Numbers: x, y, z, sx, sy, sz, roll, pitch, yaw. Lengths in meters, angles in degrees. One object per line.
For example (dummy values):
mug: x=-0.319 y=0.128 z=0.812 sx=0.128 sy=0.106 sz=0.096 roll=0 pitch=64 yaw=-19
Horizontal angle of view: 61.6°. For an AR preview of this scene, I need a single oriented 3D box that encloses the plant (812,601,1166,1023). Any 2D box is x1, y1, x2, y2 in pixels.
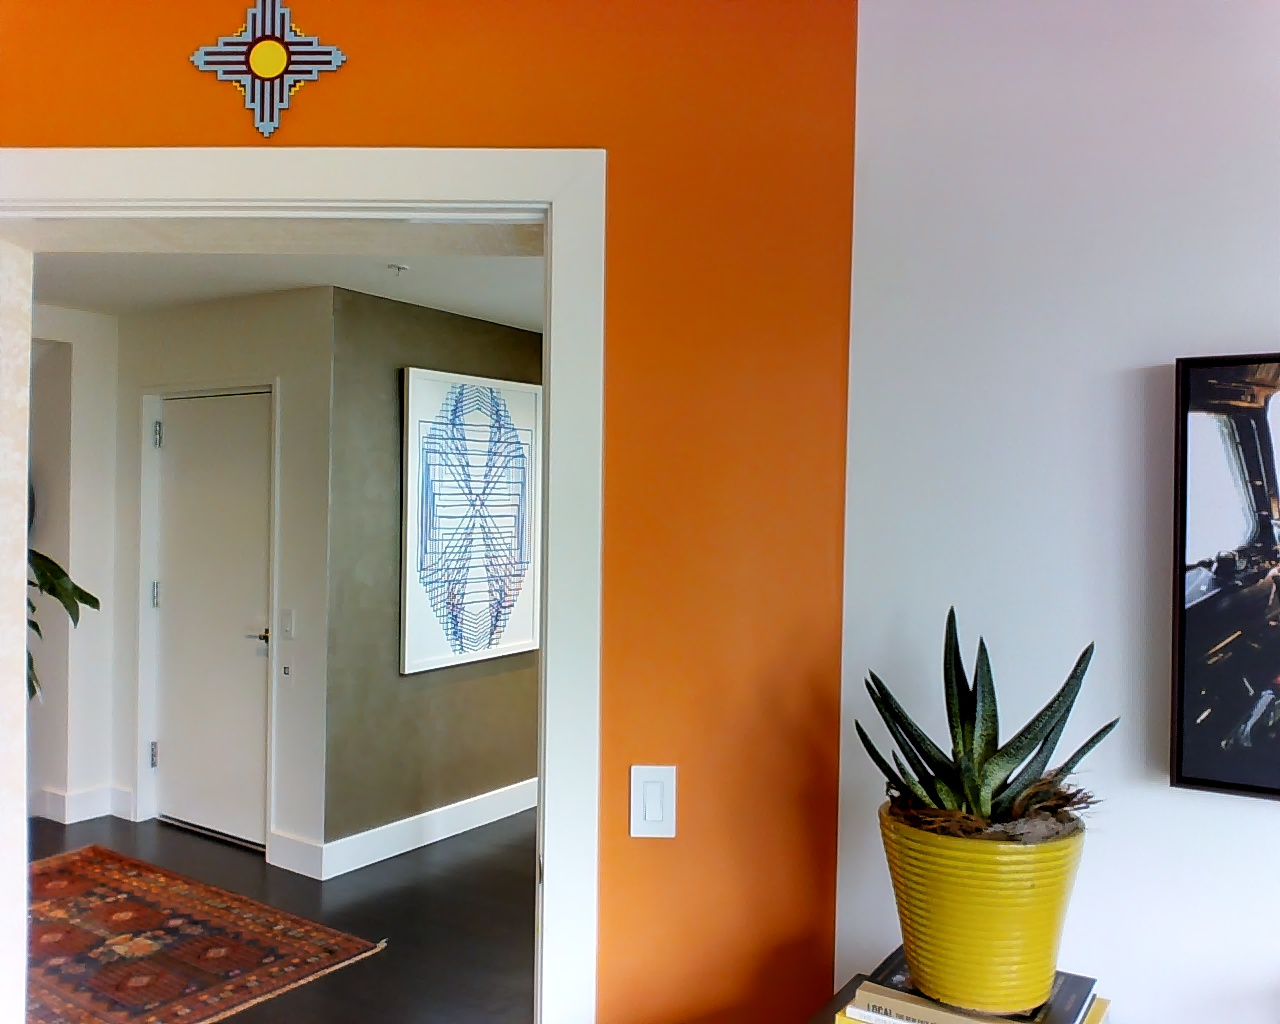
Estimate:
plant: x=0.490 y=0.450 z=1.480 sx=0.370 sy=0.610 sz=0.380 roll=1 pitch=0 yaw=34
